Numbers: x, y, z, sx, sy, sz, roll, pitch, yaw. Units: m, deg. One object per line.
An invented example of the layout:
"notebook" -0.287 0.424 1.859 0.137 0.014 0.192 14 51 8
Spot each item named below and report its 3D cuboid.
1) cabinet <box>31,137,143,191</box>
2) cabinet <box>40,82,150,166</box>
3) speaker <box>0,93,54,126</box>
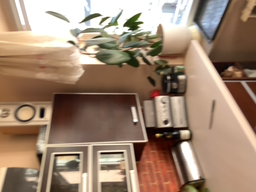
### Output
"cabinet" -0.230 0.750 1.270 0.350 0.630 0.910 99 166 -47
"cabinet" -0.270 0.210 1.780 0.340 0.750 0.580 99 166 -47
"speaker" -0.850 0.120 1.740 0.340 0.410 0.230 141 127 -78
